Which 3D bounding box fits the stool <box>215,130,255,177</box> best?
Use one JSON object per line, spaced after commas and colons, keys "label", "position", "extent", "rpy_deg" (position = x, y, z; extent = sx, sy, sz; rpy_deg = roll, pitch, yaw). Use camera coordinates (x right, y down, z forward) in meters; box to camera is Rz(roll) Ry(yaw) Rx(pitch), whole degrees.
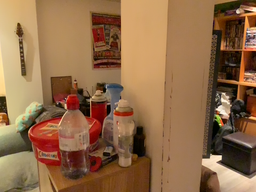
{"label": "stool", "position": [1.550, 0.760, 2.910], "extent": [0.450, 0.370, 0.460], "rpy_deg": [-9, 15, -37]}

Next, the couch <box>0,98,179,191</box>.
{"label": "couch", "position": [-0.710, 0.700, 1.870], "extent": [1.040, 0.900, 2.050], "rpy_deg": [-8, 15, -33]}
